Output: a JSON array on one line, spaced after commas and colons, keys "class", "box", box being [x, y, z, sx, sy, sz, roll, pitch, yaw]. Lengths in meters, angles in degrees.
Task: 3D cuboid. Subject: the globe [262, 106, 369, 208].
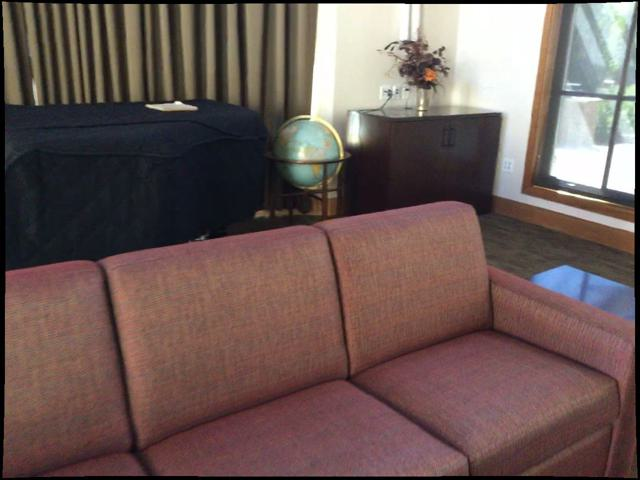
[{"class": "globe", "box": [-0.040, -0.641, 4.290, 0.540, 0.581, 0.590, -14, 25, -30]}]
